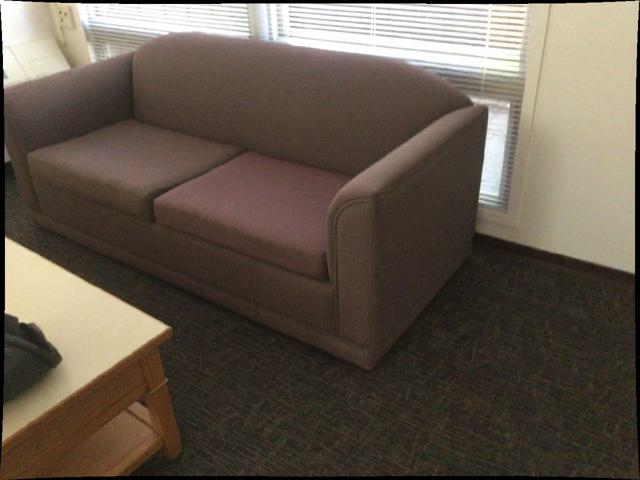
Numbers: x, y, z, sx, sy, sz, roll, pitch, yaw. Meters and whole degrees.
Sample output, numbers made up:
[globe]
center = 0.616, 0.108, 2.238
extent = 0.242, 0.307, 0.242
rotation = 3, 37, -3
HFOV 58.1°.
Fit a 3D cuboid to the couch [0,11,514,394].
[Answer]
[couch]
center = -0.339, -0.361, 2.370
extent = 1.828, 0.771, 1.120
rotation = 17, 38, 28
